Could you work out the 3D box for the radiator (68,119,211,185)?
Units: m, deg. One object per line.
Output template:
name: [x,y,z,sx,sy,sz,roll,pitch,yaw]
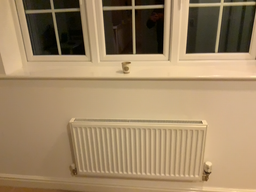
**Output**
radiator: [0.070,0.390,1.480,0.910,0.460,0.090,0,22,6]
